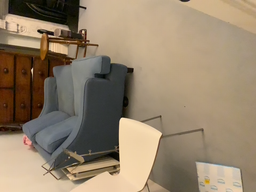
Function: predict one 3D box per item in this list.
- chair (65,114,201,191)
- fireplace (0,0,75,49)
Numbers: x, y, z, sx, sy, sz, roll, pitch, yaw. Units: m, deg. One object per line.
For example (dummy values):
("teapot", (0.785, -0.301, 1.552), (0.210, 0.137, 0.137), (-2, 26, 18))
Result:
("chair", (0.050, 0.520, 1.520), (0.440, 0.850, 0.680), (9, 96, 54))
("fireplace", (-1.620, -1.910, 3.550), (0.720, 1.250, 1.990), (9, 97, 54))
